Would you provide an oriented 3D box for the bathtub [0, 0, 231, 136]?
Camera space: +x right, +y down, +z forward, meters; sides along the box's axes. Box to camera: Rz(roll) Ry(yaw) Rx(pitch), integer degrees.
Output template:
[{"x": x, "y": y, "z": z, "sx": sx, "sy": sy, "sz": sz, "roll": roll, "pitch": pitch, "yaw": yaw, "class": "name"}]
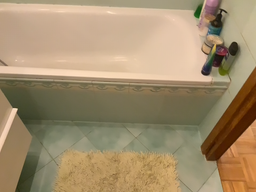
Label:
[{"x": -0.290, "y": -0.210, "z": 1.510, "sx": 1.650, "sy": 0.560, "sz": 0.680, "roll": 4, "pitch": 51, "yaw": 0, "class": "bathtub"}]
